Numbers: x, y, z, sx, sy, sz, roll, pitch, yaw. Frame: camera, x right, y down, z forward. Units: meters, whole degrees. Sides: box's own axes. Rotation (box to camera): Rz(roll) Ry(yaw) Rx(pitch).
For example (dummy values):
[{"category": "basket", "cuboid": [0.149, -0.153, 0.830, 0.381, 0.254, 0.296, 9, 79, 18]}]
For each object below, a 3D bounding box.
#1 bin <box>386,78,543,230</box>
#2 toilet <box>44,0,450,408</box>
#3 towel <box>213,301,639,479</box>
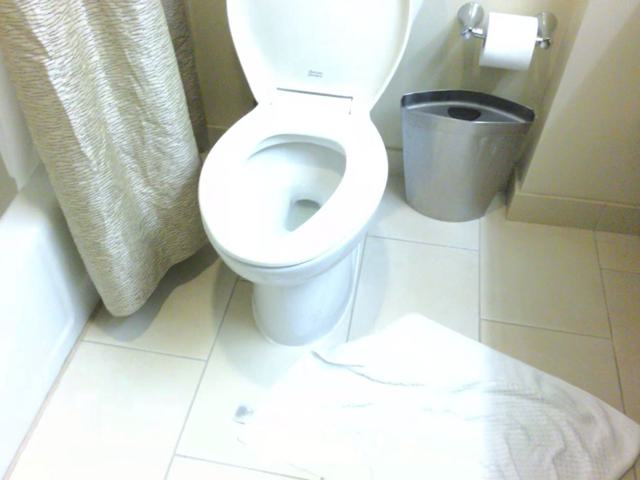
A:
[{"category": "bin", "cuboid": [0.360, -0.220, 1.510, 0.330, 0.320, 0.170, 8, 48, 7]}, {"category": "toilet", "cuboid": [-0.020, -0.240, 1.180, 0.450, 0.850, 0.760, 8, 48, 7]}, {"category": "towel", "cuboid": [0.230, 0.360, 1.200, 0.810, 0.040, 0.400, 8, 48, 7]}]
